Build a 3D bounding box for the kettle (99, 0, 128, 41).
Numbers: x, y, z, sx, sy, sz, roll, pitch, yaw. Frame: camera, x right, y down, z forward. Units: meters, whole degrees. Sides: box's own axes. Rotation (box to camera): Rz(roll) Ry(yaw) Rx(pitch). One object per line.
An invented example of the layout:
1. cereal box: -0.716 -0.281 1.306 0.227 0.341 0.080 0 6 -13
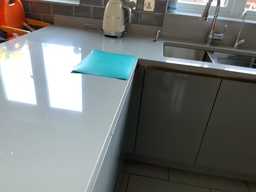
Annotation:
1. kettle: -0.110 -0.580 1.610 0.160 0.260 0.180 10 29 8
